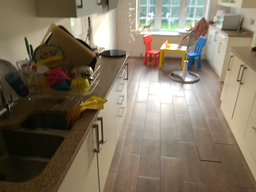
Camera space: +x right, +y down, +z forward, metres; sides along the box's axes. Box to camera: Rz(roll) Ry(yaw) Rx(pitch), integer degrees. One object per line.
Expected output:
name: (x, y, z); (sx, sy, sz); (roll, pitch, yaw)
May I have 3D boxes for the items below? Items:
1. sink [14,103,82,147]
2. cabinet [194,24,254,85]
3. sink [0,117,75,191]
sink: (-0.440, 0.160, 1.210); (0.300, 0.150, 0.180); (4, 26, 5)
cabinet: (1.980, -1.000, 4.660); (0.680, 0.910, 1.630); (5, 26, 7)
sink: (-0.560, 0.330, 0.970); (0.480, 0.250, 0.440); (4, 26, 5)
